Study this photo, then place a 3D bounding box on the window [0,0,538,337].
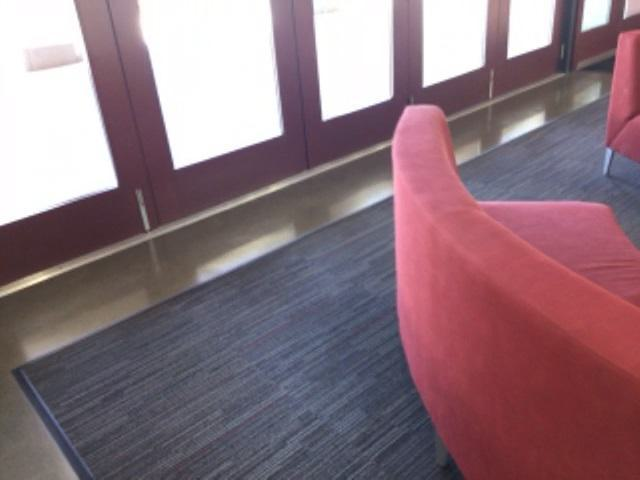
[{"bbox_3d":[0.010,-1.030,3.410,4.240,1.210,0.240,-30,35,-31],"label":"window"}]
